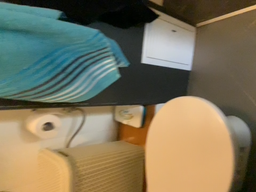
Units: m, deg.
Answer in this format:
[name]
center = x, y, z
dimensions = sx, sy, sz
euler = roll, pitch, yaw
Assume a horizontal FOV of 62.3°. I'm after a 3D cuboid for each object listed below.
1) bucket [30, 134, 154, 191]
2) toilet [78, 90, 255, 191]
[bucket]
center = -0.160, 0.430, 1.060
dimensions = 0.290, 0.530, 0.360
euler = 7, 95, 45
[toilet]
center = 0.250, 0.340, 0.900
dimensions = 0.380, 0.820, 0.680
euler = 10, 97, 44
